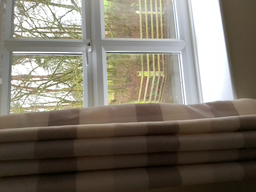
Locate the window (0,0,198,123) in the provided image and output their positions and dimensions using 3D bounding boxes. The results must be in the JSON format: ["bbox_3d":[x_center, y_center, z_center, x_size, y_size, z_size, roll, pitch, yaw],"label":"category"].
[{"bbox_3d":[-0.150,-0.300,1.090,0.060,0.940,0.820,125,142,-73],"label":"window"}]
